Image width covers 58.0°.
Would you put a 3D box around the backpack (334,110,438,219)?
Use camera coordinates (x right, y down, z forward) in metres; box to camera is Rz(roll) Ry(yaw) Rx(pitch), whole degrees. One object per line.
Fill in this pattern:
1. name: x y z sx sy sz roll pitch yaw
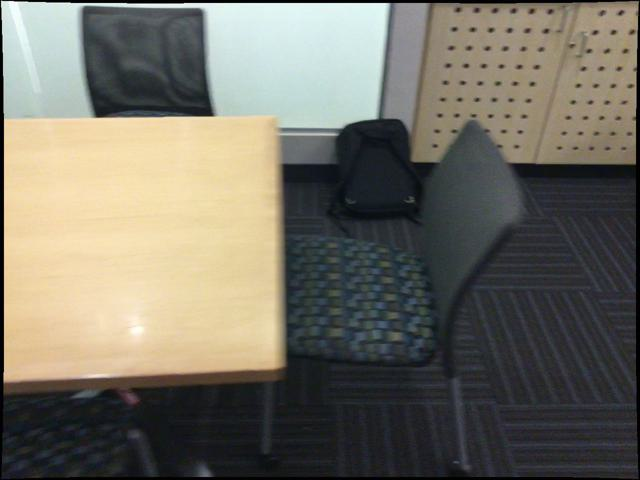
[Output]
1. backpack: 0.259 -0.321 2.420 0.379 0.321 0.330 -3 36 -1

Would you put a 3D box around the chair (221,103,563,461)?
1. chair: 0.130 0.100 1.430 0.609 0.691 0.510 -3 35 -1

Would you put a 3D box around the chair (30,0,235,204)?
1. chair: -0.619 -0.531 2.130 0.499 0.521 0.631 -3 36 -1
